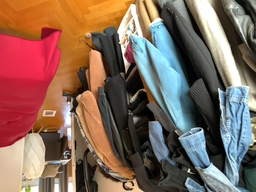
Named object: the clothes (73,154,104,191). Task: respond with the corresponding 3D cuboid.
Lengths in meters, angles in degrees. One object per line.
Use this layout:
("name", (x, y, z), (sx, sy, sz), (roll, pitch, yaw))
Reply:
("clothes", (-0.630, 1.300, 3.260), (0.330, 0.640, 0.710), (1, 155, -21))

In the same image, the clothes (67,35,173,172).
("clothes", (-0.120, 0.090, 2.070), (0.790, 1.120, 0.440), (8, 151, -33))
